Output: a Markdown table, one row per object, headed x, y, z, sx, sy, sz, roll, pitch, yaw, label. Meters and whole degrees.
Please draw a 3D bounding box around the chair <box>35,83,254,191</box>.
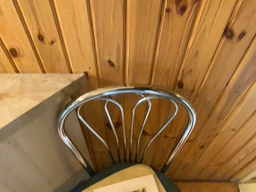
| x | y | z | sx | sy | sz | roll | pitch | yaw | label |
| --- | --- | --- | --- | --- | --- | --- | --- | --- | --- |
| 0.030 | 0.410 | 0.770 | 0.440 | 0.810 | 0.470 | 4 | 53 | 2 | chair |
